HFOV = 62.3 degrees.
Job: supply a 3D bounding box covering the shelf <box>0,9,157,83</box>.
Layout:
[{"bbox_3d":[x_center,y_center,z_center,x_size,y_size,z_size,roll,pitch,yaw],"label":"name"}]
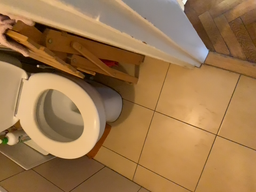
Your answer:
[{"bbox_3d":[-0.190,-0.180,0.870,0.350,0.930,0.110,26,104,20],"label":"shelf"}]
